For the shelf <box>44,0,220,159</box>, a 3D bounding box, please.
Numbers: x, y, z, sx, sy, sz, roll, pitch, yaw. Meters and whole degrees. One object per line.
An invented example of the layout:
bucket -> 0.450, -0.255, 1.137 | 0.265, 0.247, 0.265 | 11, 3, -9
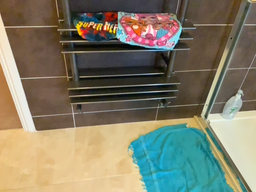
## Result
shelf -> 0.000, -0.250, 1.040 | 0.660, 1.390, 0.270 | -3, 39, -9
